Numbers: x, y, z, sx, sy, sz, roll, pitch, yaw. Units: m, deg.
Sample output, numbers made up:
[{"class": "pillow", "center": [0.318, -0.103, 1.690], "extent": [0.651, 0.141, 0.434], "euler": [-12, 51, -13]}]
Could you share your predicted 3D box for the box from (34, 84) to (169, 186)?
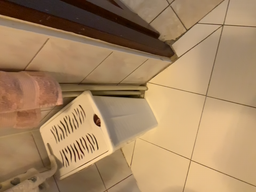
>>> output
[{"class": "box", "center": [-0.110, 0.160, 1.070], "extent": [0.380, 0.490, 0.270], "euler": [-40, 71, 29]}]
